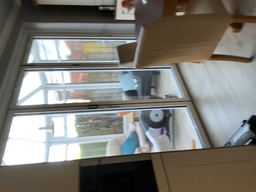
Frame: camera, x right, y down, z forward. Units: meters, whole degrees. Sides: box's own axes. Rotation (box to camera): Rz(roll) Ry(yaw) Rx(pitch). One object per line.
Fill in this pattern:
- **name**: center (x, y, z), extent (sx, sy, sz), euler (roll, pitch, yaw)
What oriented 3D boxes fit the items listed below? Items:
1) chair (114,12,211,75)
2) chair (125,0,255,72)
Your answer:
- **chair**: center (0.350, -0.600, 2.500), extent (0.540, 0.950, 0.460), euler (106, 159, -62)
- **chair**: center (0.500, -0.550, 1.650), extent (0.460, 0.950, 0.540), euler (102, 163, -55)
